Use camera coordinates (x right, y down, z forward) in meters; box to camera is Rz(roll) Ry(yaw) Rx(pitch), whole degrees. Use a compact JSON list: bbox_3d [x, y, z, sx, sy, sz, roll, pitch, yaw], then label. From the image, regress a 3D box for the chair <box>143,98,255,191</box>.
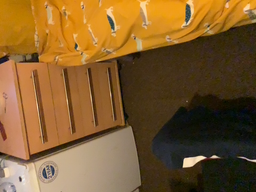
[{"bbox_3d":[0.490,0.320,0.800,0.480,0.730,0.530,-2,96,40],"label":"chair"}]
